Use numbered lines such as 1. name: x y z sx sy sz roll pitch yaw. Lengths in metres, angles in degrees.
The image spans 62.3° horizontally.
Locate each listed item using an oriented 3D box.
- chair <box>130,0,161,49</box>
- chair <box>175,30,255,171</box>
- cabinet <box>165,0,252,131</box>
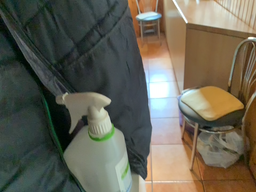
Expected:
1. chair: 0.330 -1.370 3.760 0.460 0.920 0.440 -2 34 9
2. chair: 0.580 0.060 1.440 0.460 0.860 0.410 -2 34 8
3. cabinet: 0.740 -0.760 2.640 0.430 0.860 2.510 -2 34 8
